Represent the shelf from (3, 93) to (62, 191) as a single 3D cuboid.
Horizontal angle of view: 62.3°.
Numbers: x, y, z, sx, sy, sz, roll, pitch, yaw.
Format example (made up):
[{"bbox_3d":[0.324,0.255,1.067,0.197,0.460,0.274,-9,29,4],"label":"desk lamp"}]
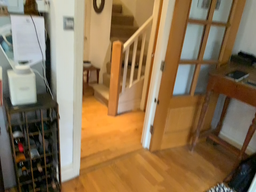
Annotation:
[{"bbox_3d":[-0.700,0.430,1.600,0.320,0.840,0.240,-9,27,-34],"label":"shelf"}]
